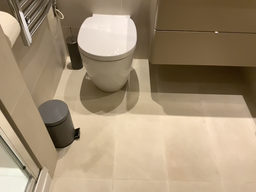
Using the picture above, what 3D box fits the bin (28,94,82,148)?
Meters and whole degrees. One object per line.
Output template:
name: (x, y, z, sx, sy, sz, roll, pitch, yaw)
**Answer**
bin: (-0.410, 0.150, 1.250, 0.210, 0.260, 0.190, 4, 48, 1)
